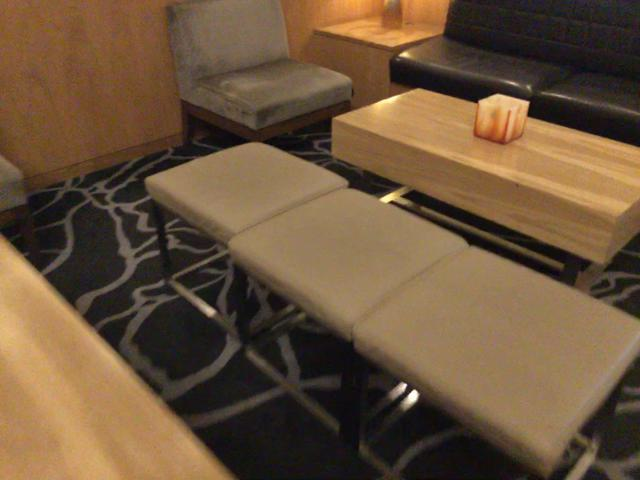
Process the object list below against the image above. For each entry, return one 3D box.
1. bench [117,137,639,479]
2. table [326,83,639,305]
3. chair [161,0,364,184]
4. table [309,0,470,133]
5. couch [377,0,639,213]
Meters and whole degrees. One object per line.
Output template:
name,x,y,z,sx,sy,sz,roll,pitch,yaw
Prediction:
bench,0.070,0.160,1.770,1.490,0.440,0.610,27,40,37
table,0.700,-0.280,2.350,1.240,0.340,0.660,27,40,37
chair,-0.290,-0.890,3.150,0.700,0.800,0.760,27,40,37
table,0.430,-1.170,3.770,0.760,0.610,0.660,27,40,37
couch,1.270,-0.870,2.960,1.900,0.930,0.700,27,40,37
